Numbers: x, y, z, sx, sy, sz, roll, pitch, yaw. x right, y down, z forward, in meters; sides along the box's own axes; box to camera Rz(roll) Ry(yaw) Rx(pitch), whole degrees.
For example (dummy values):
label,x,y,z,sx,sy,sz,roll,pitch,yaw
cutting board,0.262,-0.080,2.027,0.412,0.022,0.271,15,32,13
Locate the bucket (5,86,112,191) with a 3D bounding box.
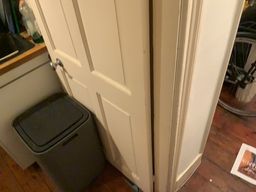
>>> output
label,x,y,z,sx,sy,sz,roll,pitch,yaw
bucket,-0.440,0.340,1.490,0.420,0.590,0.400,31,56,33
